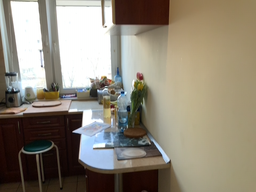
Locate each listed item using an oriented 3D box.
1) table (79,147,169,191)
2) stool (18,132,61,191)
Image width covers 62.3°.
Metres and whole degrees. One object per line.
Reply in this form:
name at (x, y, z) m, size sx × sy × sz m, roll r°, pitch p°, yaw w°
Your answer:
table at (-0.030, 0.790, 1.430) m, size 0.540 × 0.820 × 0.190 m, roll -3°, pitch 13°, yaw -11°
stool at (-0.930, 0.730, 2.280) m, size 0.310 × 0.570 × 0.320 m, roll -2°, pitch 13°, yaw -8°
